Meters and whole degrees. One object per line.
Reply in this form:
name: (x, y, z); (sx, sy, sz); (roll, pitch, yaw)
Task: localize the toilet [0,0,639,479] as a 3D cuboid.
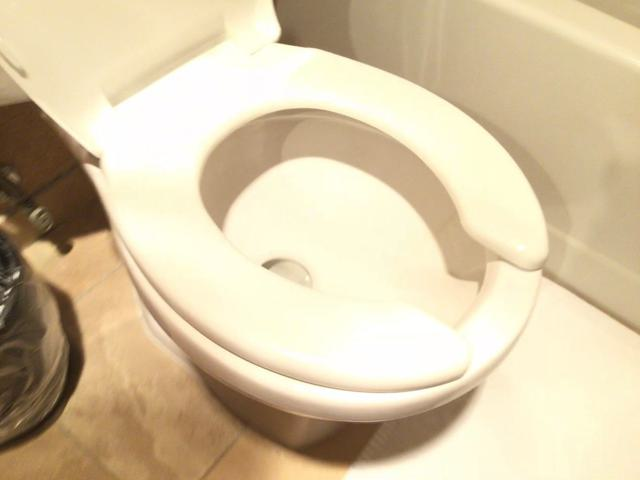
toilet: (-0.070, -0.130, 0.550); (0.700, 0.710, 0.500); (35, 61, 18)
